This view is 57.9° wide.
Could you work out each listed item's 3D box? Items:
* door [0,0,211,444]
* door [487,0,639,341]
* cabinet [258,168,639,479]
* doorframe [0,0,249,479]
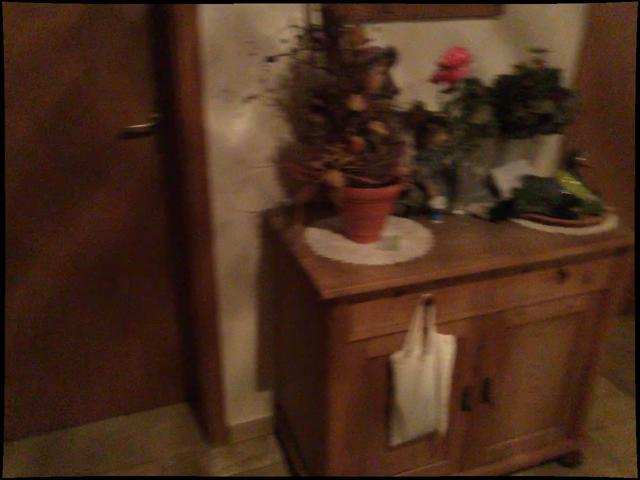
[{"bbox_3d":[-0.819,-0.250,1.670,0.829,1.942,0.090,-8,26,-16],"label":"door"},{"bbox_3d":[1.159,-0.511,2.280,0.829,1.932,0.100,-8,26,-16],"label":"door"},{"bbox_3d":[0.330,0.300,1.800,0.909,0.841,0.540,-8,26,-16],"label":"cabinet"},{"bbox_3d":[-0.779,-0.240,1.540,1.019,2.022,0.310,-8,26,-16],"label":"doorframe"}]
